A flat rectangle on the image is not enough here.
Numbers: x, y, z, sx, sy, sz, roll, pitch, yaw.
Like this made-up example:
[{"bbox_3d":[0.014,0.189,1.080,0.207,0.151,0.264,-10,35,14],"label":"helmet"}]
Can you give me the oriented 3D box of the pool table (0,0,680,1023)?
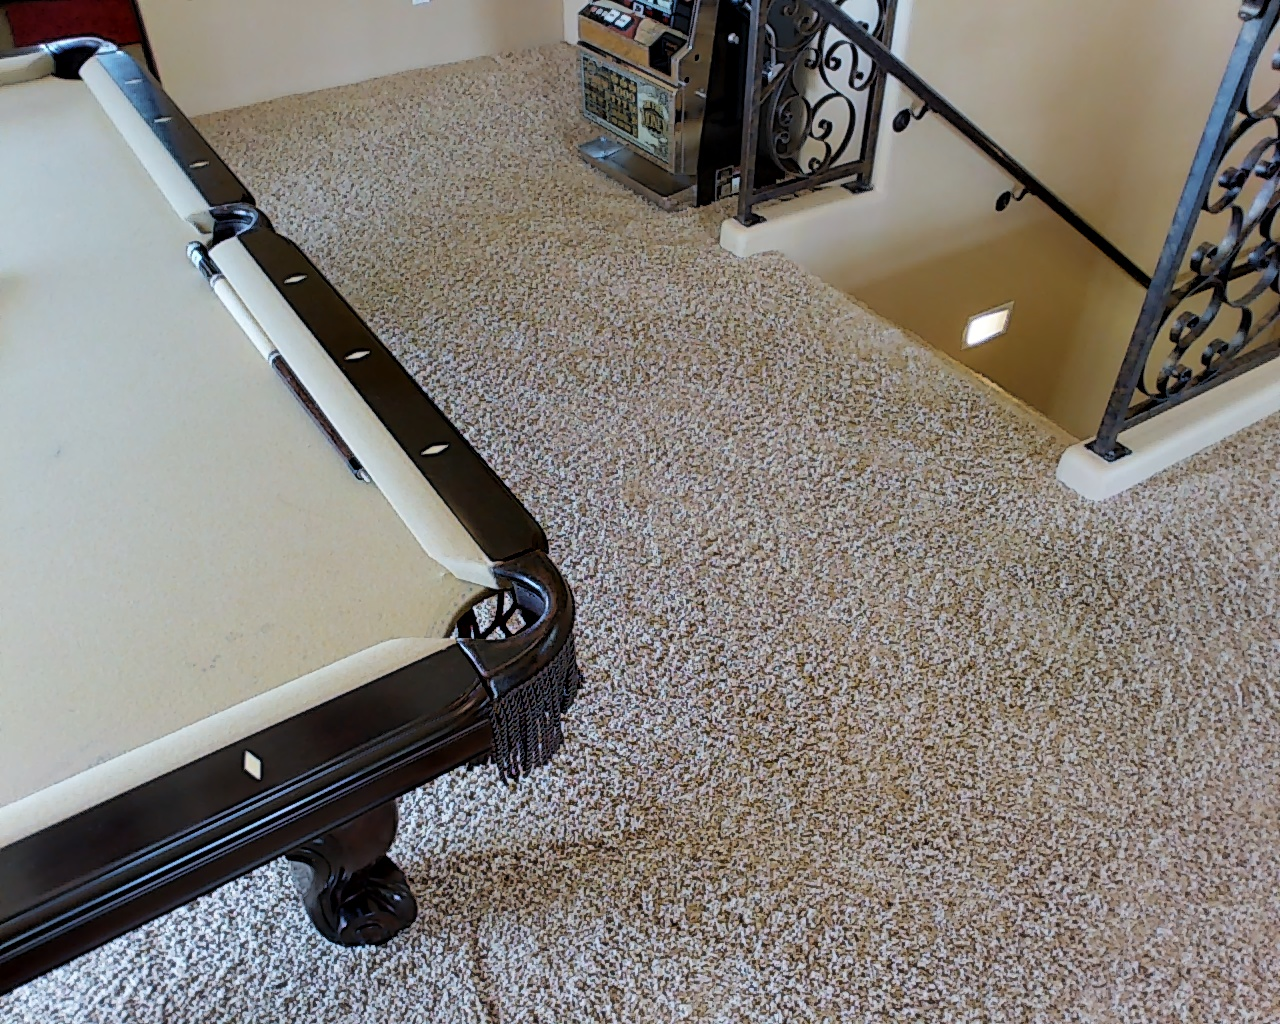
[{"bbox_3d":[-1.150,-0.050,1.800,1.350,0.740,2.350,-22,46,-23],"label":"pool table"}]
